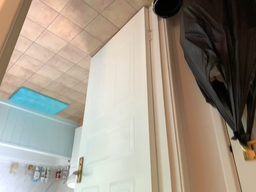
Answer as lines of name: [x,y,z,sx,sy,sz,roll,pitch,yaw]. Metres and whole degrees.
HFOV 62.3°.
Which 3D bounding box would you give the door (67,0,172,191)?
door: [-0.100,0.390,1.080,0.060,2.050,0.740,23,143,-35]
